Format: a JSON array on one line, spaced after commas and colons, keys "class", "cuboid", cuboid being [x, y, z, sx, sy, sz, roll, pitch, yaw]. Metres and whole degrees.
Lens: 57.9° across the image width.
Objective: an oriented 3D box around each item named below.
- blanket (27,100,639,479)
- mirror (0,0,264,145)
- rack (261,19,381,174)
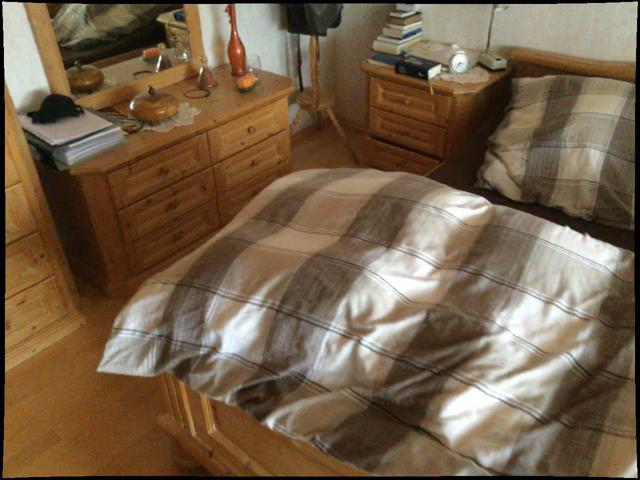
[{"class": "blanket", "cuboid": [0.260, 0.210, 1.190, 1.509, 0.320, 0.970, 27, 47, 34]}, {"class": "mirror", "cuboid": [-0.739, -1.161, 2.130, 0.400, 1.311, 0.890, 27, 47, 34]}, {"class": "rack", "cuboid": [0.020, -0.771, 3.080, 0.440, 0.620, 0.410, 27, 47, 34]}]
